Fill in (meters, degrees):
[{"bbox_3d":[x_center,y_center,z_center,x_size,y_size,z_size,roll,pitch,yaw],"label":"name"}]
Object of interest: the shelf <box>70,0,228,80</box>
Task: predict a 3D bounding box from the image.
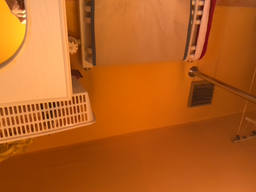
[{"bbox_3d":[0.100,-0.500,0.690,0.570,0.850,0.130,-7,-154,-21],"label":"shelf"}]
